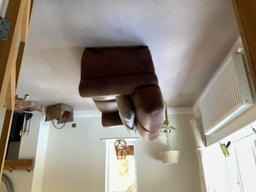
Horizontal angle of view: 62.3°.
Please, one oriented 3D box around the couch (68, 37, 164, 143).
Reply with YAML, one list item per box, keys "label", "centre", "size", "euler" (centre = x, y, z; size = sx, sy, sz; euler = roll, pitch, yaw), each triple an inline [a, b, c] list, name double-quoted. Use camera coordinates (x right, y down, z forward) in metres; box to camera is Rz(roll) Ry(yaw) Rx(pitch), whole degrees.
- label: "couch"
  centre: [-0.090, 0.060, 2.920]
  size: [0.920, 0.880, 1.570]
  euler: [-2, 158, 2]
